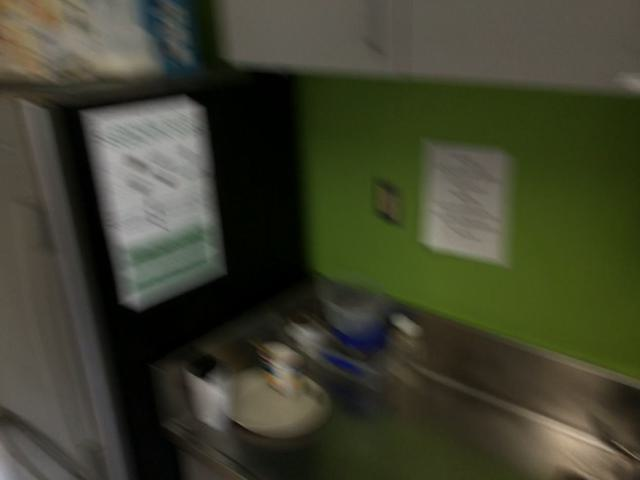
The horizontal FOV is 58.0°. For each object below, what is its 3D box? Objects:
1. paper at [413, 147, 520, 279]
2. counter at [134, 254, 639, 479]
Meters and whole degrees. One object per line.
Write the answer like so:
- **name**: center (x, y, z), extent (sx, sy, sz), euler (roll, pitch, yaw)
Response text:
- **paper**: center (0.350, -0.070, 1.420), extent (0.230, 0.280, 0.040), euler (16, 26, 34)
- **counter**: center (0.330, 0.440, 1.230), extent (1.450, 0.290, 0.640), euler (17, 26, 35)
